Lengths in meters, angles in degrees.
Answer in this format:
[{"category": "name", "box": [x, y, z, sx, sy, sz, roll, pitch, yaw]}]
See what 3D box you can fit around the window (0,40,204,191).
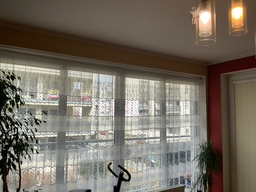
[{"category": "window", "box": [-0.210, 0.740, 3.110, 3.730, 2.510, 0.260, 4, -5, -33]}]
